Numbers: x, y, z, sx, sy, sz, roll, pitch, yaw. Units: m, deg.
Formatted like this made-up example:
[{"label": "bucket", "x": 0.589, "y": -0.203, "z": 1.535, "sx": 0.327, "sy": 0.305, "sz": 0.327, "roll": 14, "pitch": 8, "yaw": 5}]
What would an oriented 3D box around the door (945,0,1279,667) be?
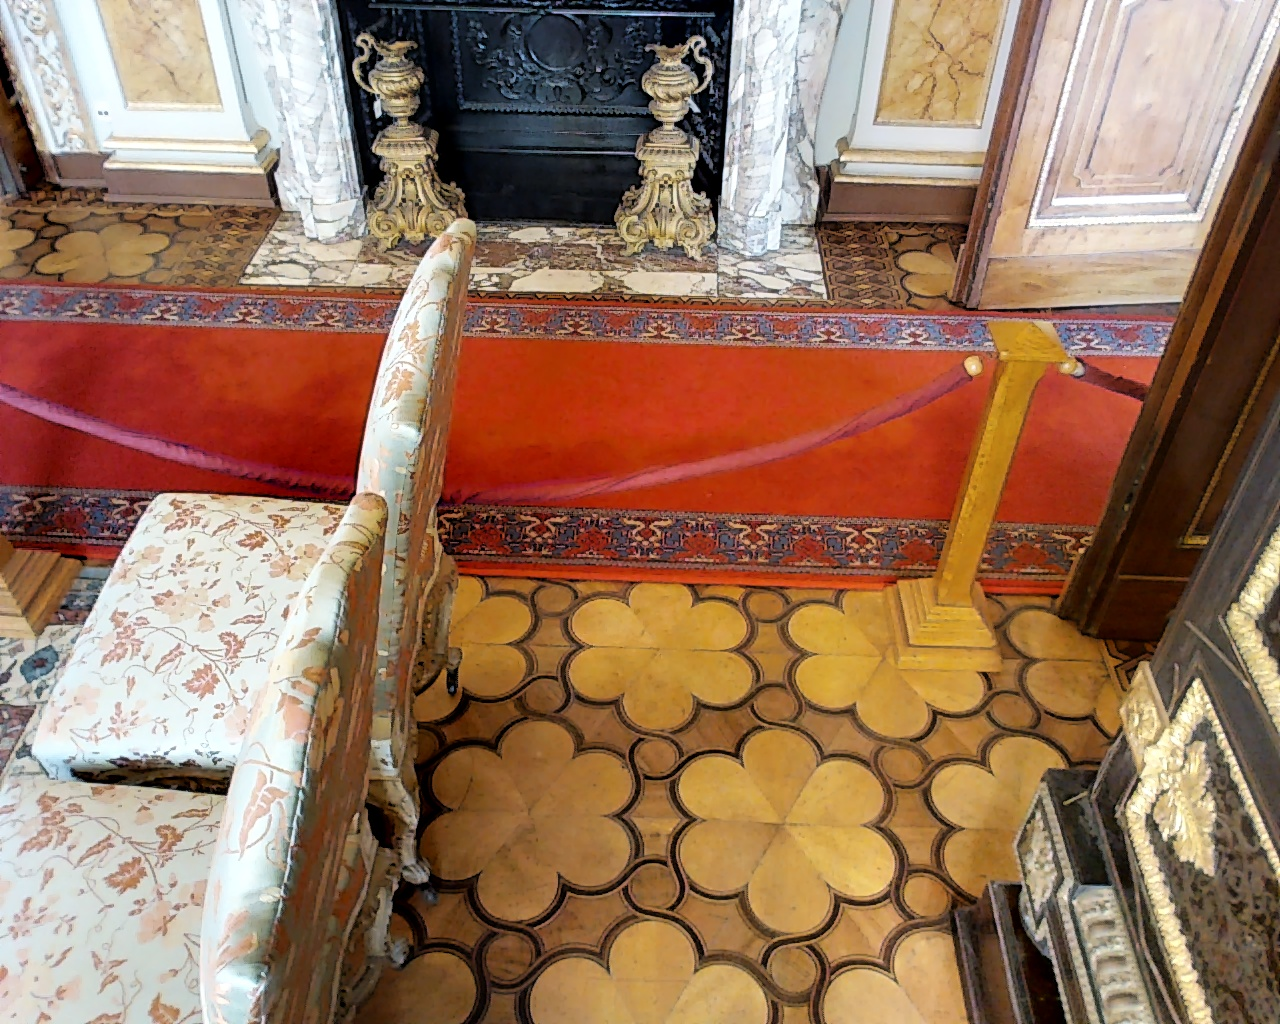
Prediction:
[{"label": "door", "x": 1.180, "y": -1.510, "z": 1.760, "sx": 0.390, "sy": 3.521, "sz": 1.590, "roll": 2, "pitch": 42, "yaw": 1}]
